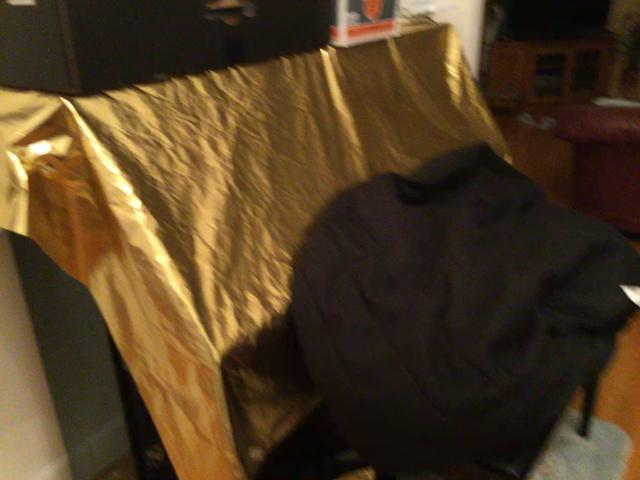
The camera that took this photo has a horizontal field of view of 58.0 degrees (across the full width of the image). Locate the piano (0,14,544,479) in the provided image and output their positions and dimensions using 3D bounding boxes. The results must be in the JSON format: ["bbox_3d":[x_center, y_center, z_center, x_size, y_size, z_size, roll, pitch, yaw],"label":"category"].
[{"bbox_3d":[0.010,0.060,1.670,0.640,1.210,1.610,14,29,34],"label":"piano"}]
